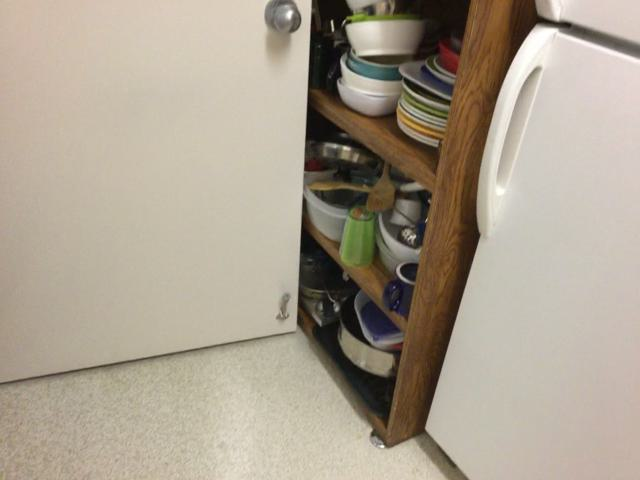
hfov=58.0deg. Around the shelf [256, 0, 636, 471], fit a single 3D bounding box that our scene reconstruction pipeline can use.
[{"bbox_3d":[0.170,-0.310,1.350,0.350,1.520,0.800,-14,38,-24],"label":"shelf"}]
